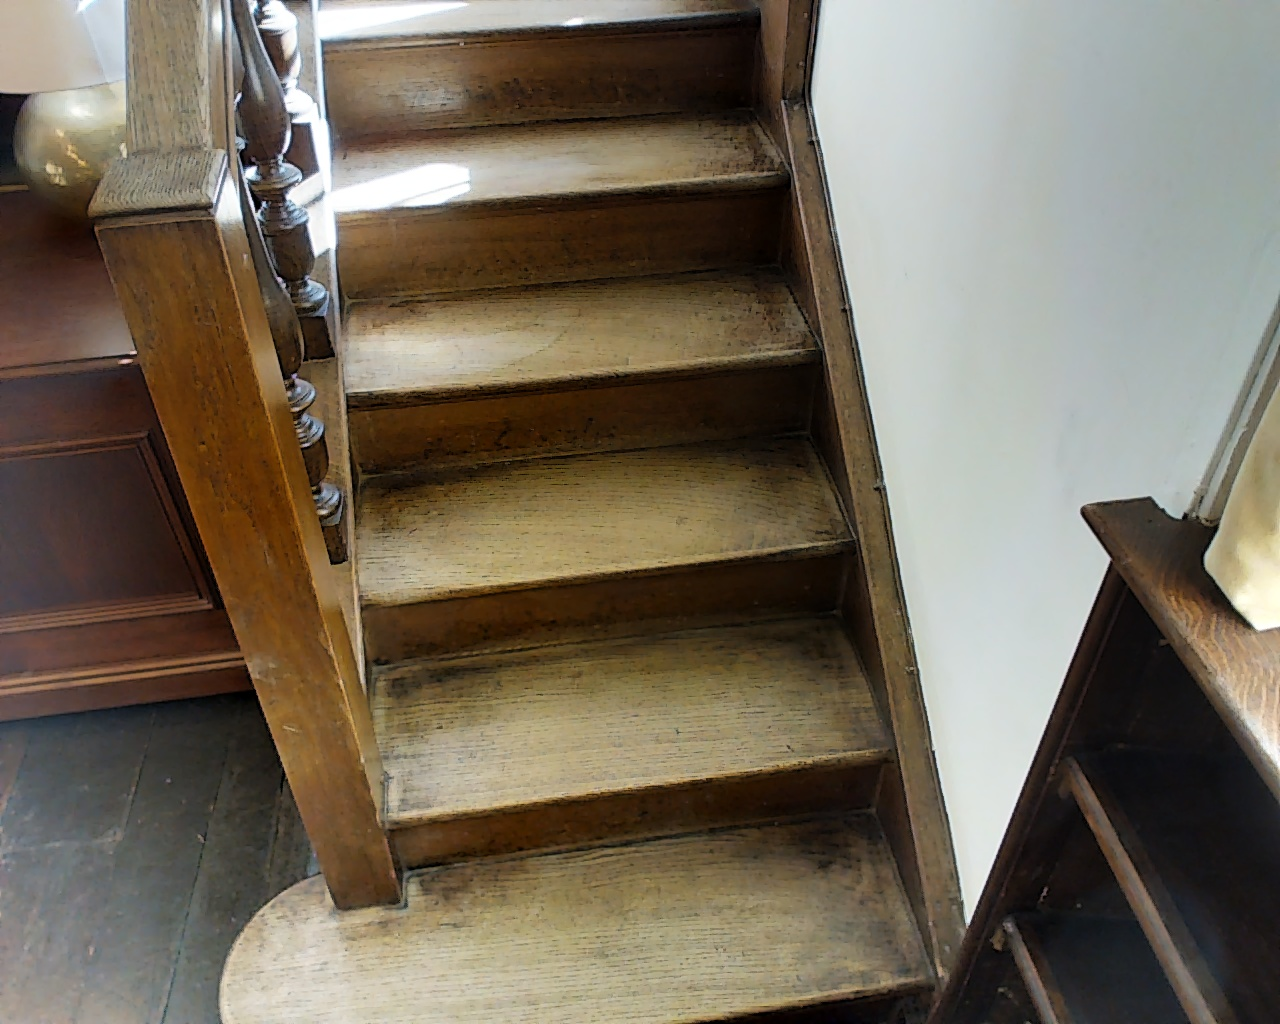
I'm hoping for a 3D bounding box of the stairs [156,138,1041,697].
[{"bbox_3d":[-0.070,-0.210,1.580,0.670,0.270,1.440,-17,12,0],"label":"stairs"}]
